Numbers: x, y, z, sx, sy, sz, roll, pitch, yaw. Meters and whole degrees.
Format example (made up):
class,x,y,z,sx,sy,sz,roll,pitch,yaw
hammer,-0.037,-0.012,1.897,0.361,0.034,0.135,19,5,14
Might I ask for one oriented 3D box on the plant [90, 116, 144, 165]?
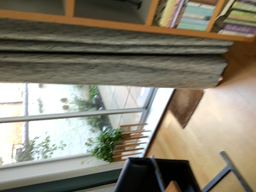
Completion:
class,x,y,z,sx,sy,sz,roll,pitch,yaw
plant,-0.170,0.610,2.910,0.300,0.570,0.590,-116,33,-43
